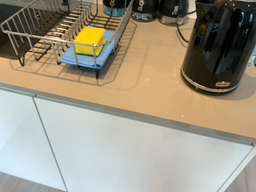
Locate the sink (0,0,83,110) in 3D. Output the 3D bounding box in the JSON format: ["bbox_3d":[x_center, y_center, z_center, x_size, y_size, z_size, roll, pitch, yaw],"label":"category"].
[{"bbox_3d":[-0.470,-0.210,0.890,0.400,0.220,0.430,11,44,7],"label":"sink"}]
